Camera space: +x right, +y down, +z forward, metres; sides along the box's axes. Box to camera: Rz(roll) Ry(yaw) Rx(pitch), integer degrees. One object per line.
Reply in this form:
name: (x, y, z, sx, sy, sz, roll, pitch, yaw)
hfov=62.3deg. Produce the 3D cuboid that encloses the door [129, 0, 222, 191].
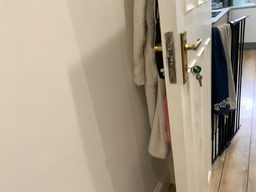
door: (0.300, -0.020, 0.940, 0.050, 2.000, 0.840, 7, 29, 32)
